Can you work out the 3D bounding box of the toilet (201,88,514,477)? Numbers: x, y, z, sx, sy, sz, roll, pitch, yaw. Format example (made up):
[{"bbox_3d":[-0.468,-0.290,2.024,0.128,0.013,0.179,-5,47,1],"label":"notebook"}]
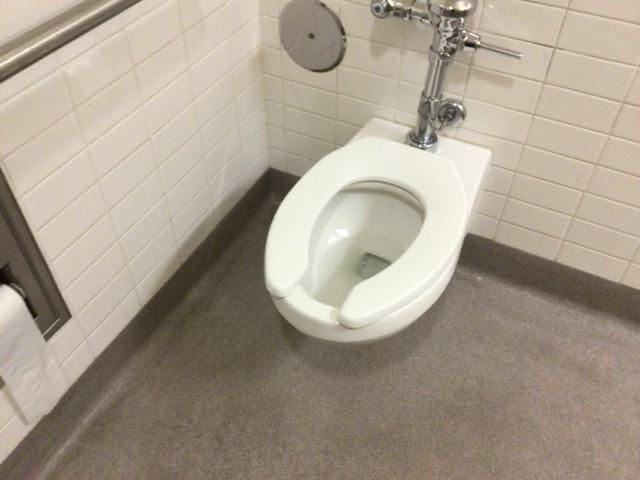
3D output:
[{"bbox_3d":[0.110,0.070,1.320,0.390,0.500,0.630,20,49,19],"label":"toilet"}]
